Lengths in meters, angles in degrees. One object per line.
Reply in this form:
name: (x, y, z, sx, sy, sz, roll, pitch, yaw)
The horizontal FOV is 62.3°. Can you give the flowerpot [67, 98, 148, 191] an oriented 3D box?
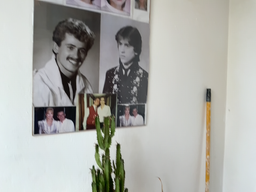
flowerpot: (-0.090, 0.350, 0.800, 0.230, 0.670, 0.220, 0, 3, -28)
